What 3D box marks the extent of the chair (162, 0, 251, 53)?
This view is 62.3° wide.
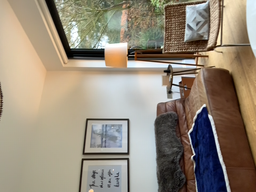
[{"bbox_3d":[0.820,-0.850,2.420,0.710,0.740,0.630,-95,5,-84],"label":"chair"}]
